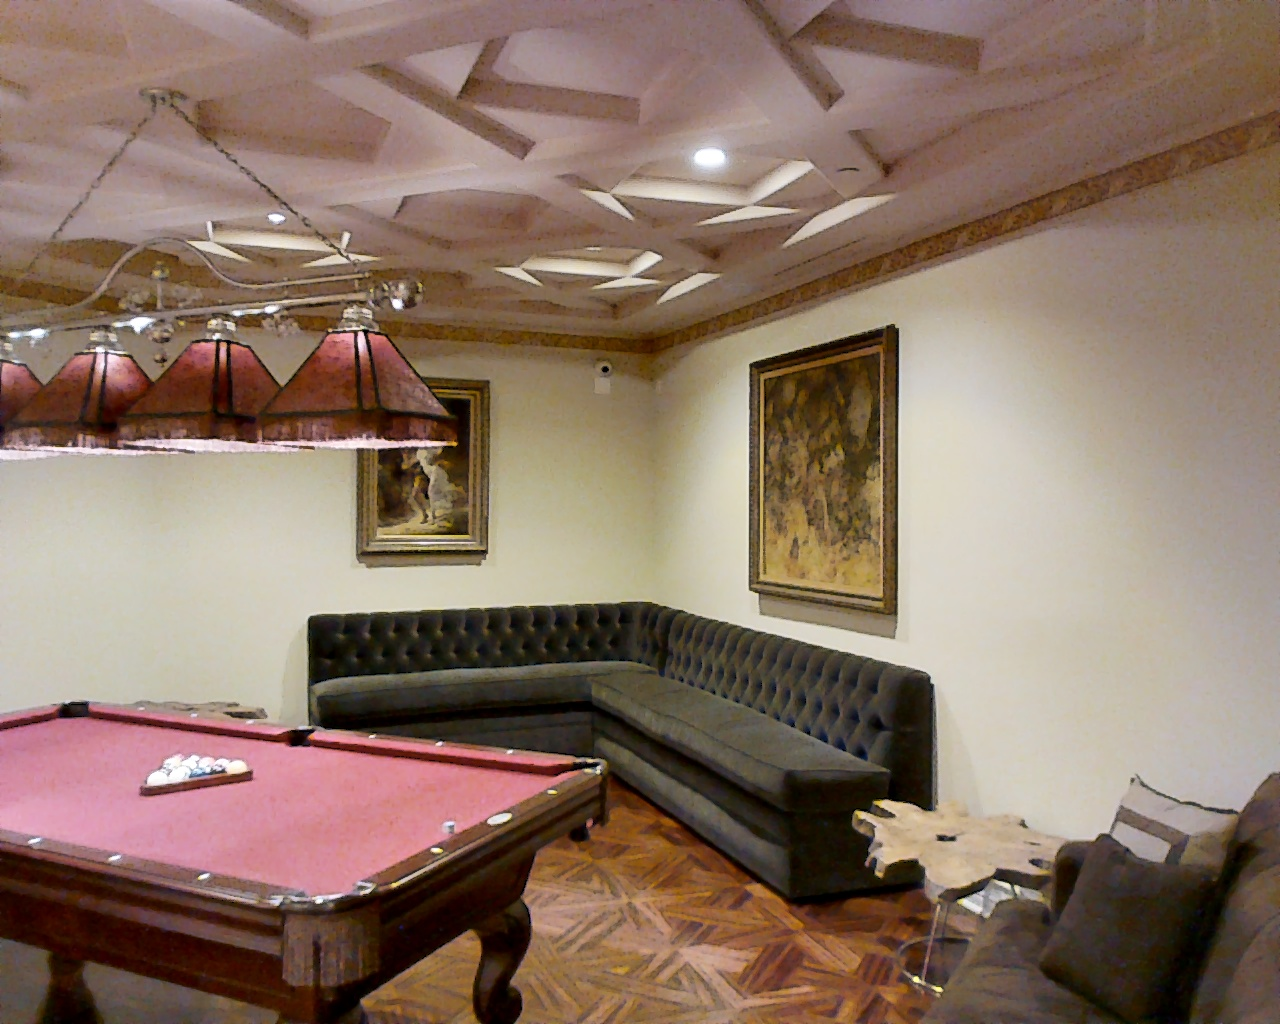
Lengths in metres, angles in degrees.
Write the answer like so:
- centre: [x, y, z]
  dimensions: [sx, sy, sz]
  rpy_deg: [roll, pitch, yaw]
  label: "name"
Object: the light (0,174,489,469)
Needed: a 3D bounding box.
- centre: [-1.440, -0.500, 3.320]
  dimensions: [1.970, 0.710, 0.500]
  rpy_deg: [1, 1, 25]
  label: "light"
